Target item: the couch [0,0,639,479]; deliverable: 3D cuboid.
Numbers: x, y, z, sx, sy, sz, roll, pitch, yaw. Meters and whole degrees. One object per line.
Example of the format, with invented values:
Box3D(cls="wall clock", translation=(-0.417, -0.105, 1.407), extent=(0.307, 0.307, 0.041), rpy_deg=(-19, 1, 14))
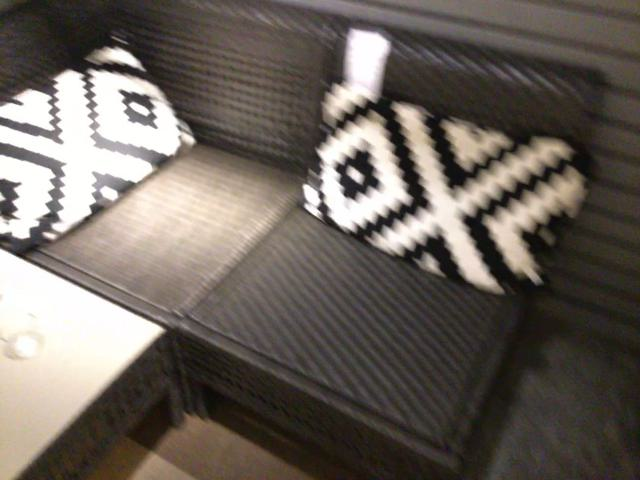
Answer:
Box3D(cls="couch", translation=(-0.690, 0.470, 0.750), extent=(1.470, 0.860, 2.910), rpy_deg=(19, 41, 25))
